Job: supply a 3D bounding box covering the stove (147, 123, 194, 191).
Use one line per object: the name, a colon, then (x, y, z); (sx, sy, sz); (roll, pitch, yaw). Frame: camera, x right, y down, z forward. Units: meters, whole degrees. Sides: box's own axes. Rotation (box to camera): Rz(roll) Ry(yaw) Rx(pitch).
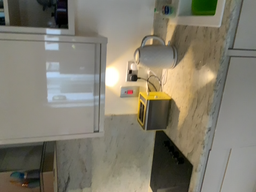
stove: (0.270, 0.570, 1.520); (0.500, 0.030, 0.590); (-129, 41, -64)
